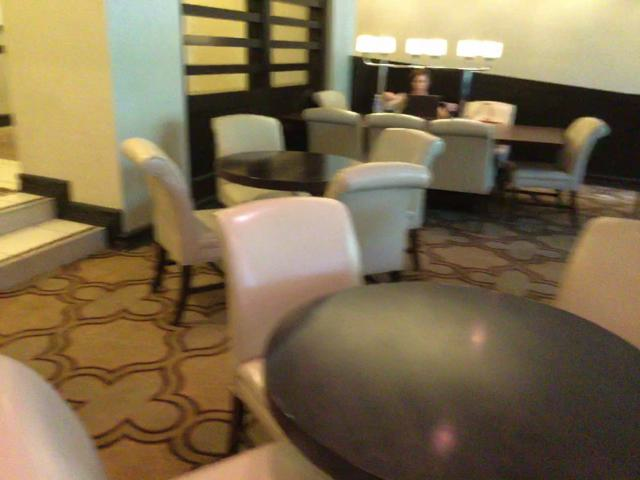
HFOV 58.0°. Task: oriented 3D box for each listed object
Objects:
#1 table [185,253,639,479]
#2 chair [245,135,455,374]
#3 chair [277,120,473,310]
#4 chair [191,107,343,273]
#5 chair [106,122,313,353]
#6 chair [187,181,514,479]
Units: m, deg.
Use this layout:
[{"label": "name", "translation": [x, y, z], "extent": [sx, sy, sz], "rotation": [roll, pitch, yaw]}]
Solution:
[{"label": "table", "translation": [0.330, 0.280, 1.330], "extent": [0.890, 0.100, 0.900], "rotation": [8, 20, 21]}, {"label": "chair", "translation": [0.110, 0.000, 3.010], "extent": [0.680, 0.930, 0.860], "rotation": [-10, 22, -29]}, {"label": "chair", "translation": [0.340, -0.230, 3.740], "extent": [0.860, 0.920, 0.860], "rotation": [-17, 26, -41]}, {"label": "chair", "translation": [-0.400, -0.400, 4.010], "extent": [0.860, 0.910, 0.910], "rotation": [-5, 20, -15]}, {"label": "chair", "translation": [-0.600, -0.090, 3.130], "extent": [0.810, 0.940, 0.840], "rotation": [-10, 22, -29]}, {"label": "chair", "translation": [0.030, 0.380, 1.820], "extent": [0.590, 0.920, 0.820], "rotation": [-10, 22, -29]}]
